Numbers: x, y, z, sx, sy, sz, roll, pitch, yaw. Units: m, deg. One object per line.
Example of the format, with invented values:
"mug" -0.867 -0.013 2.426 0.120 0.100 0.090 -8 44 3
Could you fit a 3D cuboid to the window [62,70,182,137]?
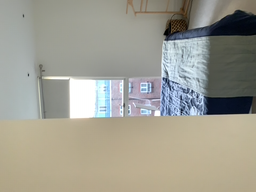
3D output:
"window" -0.090 0.140 4.040 0.190 2.150 1.230 -115 26 -74
